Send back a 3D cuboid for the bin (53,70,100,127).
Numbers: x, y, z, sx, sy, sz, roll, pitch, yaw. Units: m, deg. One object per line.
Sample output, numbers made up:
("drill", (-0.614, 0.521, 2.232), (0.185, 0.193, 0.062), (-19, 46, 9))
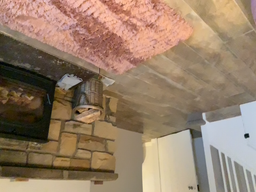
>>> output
("bin", (-0.500, 0.040, 2.100), (0.320, 0.440, 0.290), (-19, 151, 38))
